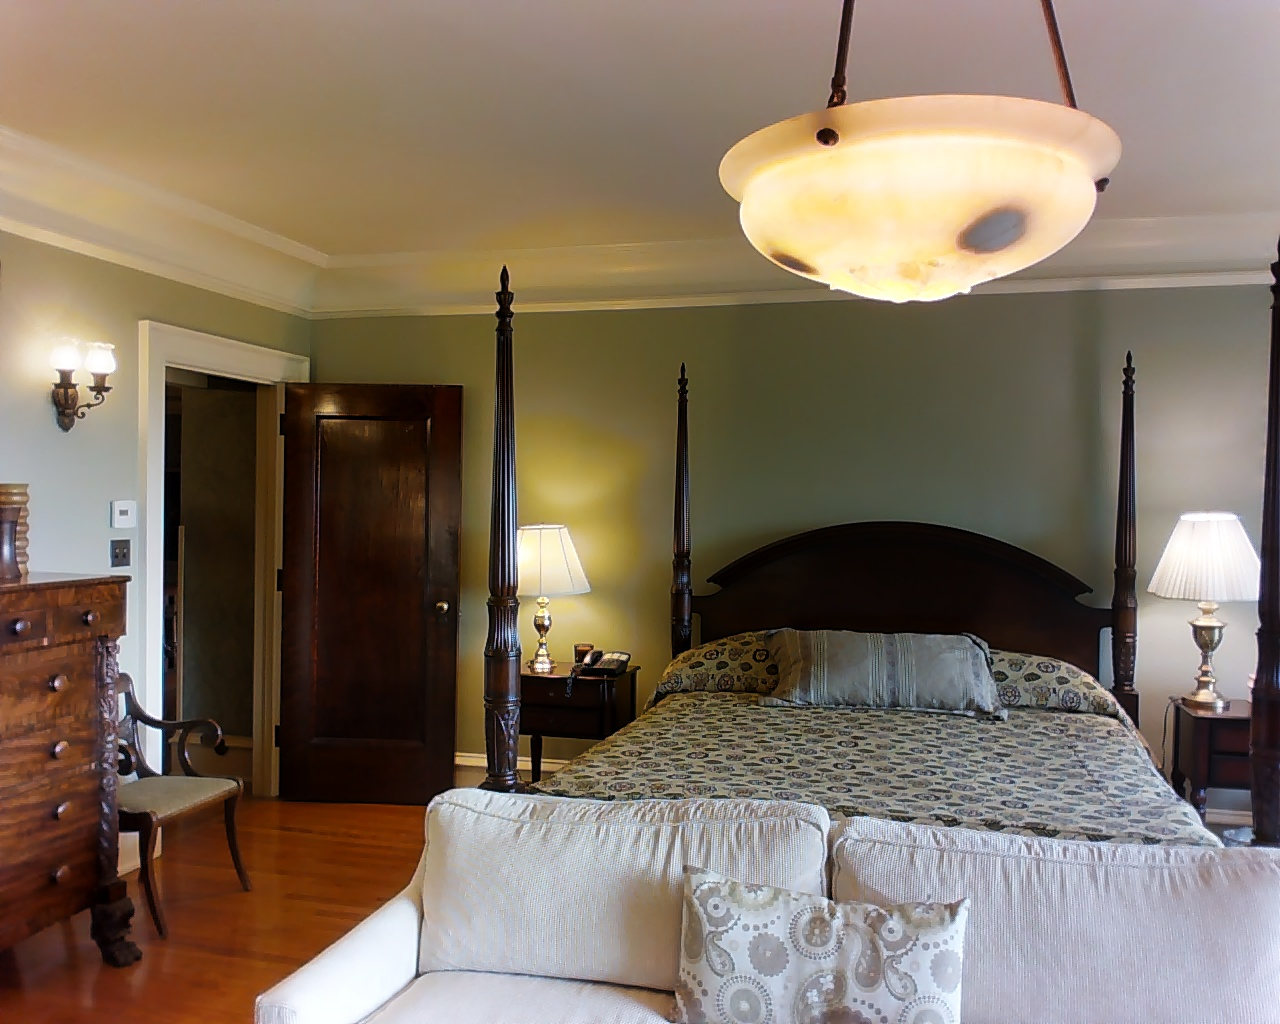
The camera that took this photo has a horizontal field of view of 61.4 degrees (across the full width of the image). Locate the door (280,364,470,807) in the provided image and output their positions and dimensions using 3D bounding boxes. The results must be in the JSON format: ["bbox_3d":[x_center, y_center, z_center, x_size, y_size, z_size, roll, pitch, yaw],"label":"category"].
[{"bbox_3d":[-1.350,0.370,5.490,0.930,2.220,0.110,1,1,2],"label":"door"}]

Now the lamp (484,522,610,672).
[{"bbox_3d":[-0.440,0.390,5.200,0.470,0.670,0.450,1,1,15],"label":"lamp"}]
